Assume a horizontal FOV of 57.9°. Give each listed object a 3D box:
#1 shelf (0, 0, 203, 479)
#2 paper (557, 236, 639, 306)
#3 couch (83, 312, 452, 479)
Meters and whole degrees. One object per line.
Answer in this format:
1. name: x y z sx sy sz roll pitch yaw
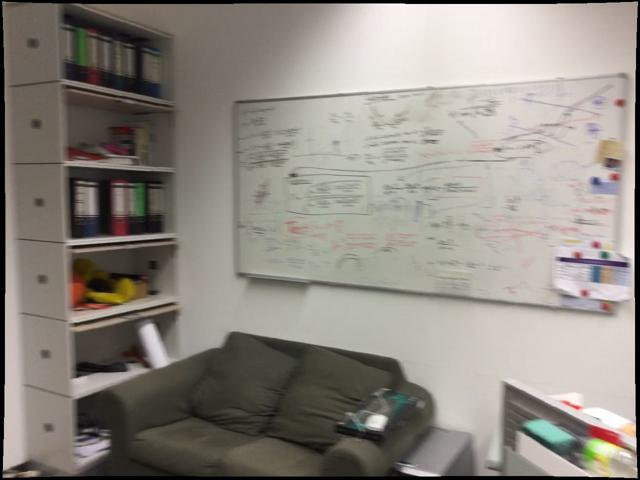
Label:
1. shelf: -1.239 -0.010 3.340 0.520 2.502 0.910 3 8 33
2. paper: 1.129 0.120 2.320 0.320 0.250 0.050 3 8 33
3. couch: -0.250 0.911 2.830 1.499 0.751 0.960 3 8 33
